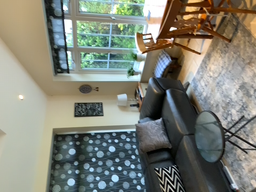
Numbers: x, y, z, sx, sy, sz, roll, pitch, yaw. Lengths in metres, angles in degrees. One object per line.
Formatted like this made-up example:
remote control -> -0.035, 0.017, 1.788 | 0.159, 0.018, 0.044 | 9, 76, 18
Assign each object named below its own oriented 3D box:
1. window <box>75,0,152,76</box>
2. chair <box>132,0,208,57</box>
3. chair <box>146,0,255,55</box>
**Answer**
window -> -0.280, -0.950, 3.490 | 1.540, 1.100, 0.070 | 101, 164, -45
chair -> 0.540, -0.960, 2.990 | 0.520, 0.830, 0.620 | -107, 20, -55
chair -> 0.700, -0.840, 2.190 | 0.520, 0.840, 0.620 | 105, 161, -52
